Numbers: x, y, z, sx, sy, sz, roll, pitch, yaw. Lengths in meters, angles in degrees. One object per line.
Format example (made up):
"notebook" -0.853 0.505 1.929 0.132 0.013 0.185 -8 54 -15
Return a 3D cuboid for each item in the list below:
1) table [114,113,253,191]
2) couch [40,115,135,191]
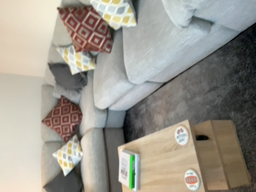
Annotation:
"table" 0.310 0.470 1.600 0.930 0.420 0.430 -36 57 54
"couch" -0.590 0.970 2.700 1.070 0.840 1.180 -37 56 53
